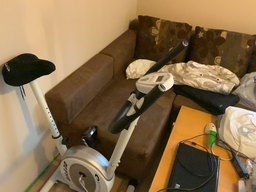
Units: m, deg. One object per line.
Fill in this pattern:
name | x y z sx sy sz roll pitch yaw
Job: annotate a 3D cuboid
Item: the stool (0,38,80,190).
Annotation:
stool | -0.500 0.170 1.300 0.240 0.960 0.240 18 40 17
